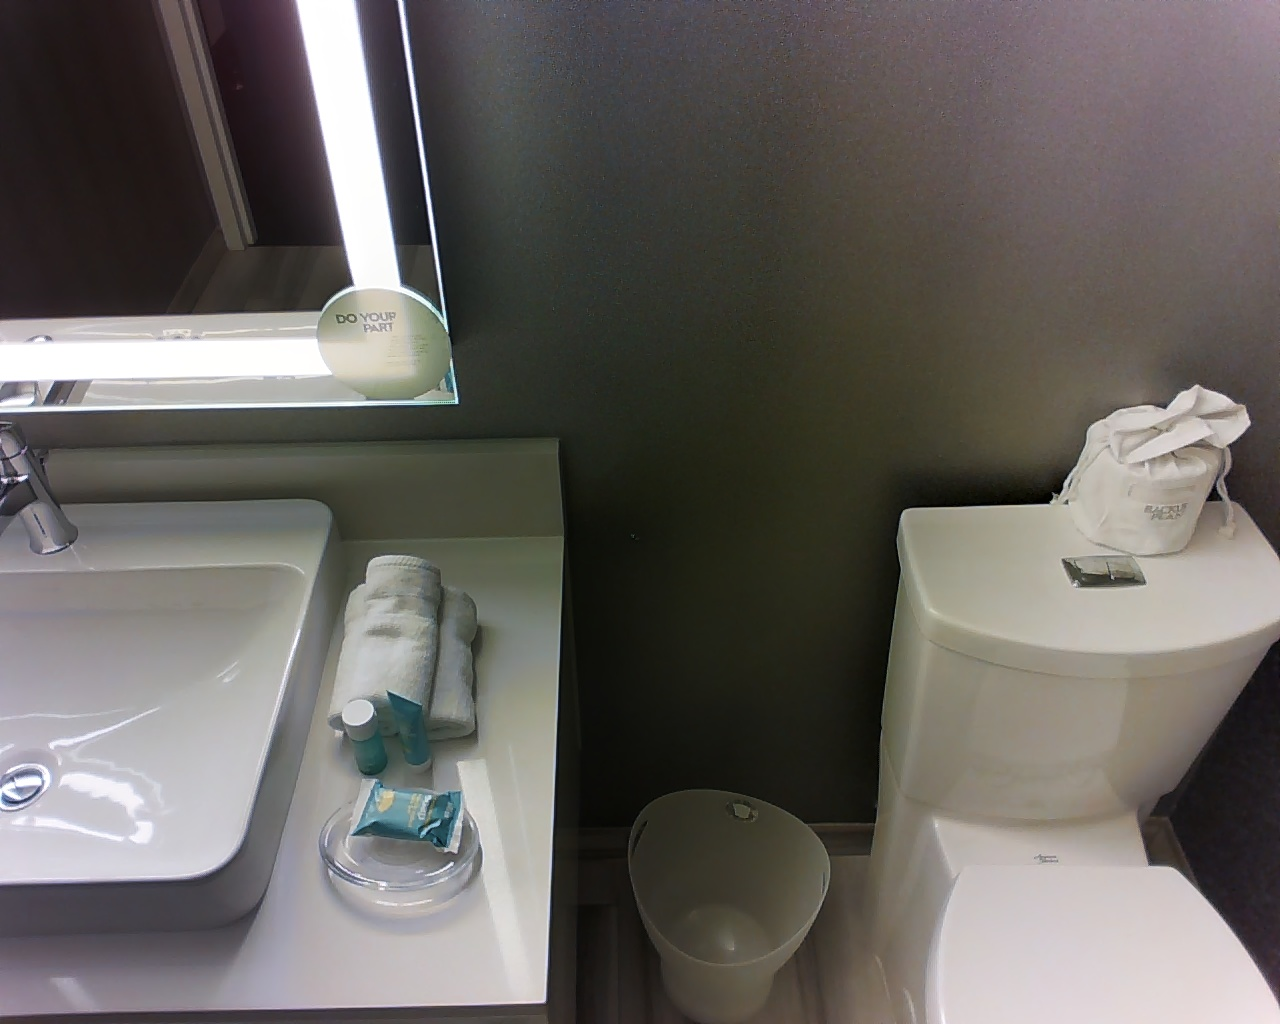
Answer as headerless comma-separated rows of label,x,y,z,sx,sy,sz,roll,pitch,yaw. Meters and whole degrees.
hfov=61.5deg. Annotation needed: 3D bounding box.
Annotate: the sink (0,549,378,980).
sink,-0.620,0.230,1.030,0.650,0.160,0.370,-1,42,0
